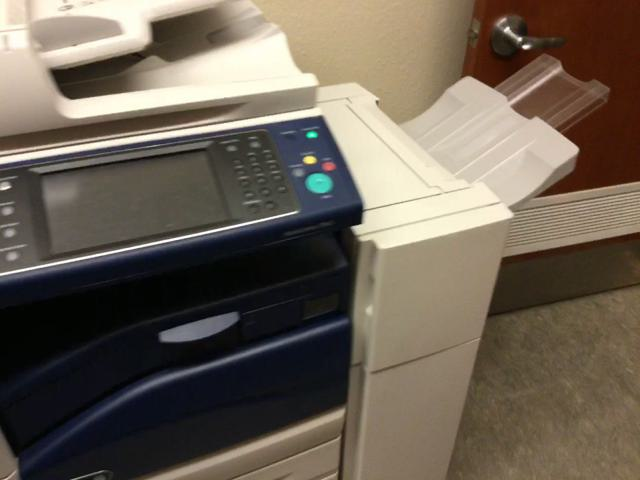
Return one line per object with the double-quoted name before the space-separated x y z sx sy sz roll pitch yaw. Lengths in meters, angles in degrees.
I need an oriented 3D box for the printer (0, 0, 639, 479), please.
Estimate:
"printer" -0.220 0.110 1.090 1.150 1.130 0.690 -10 38 -13
